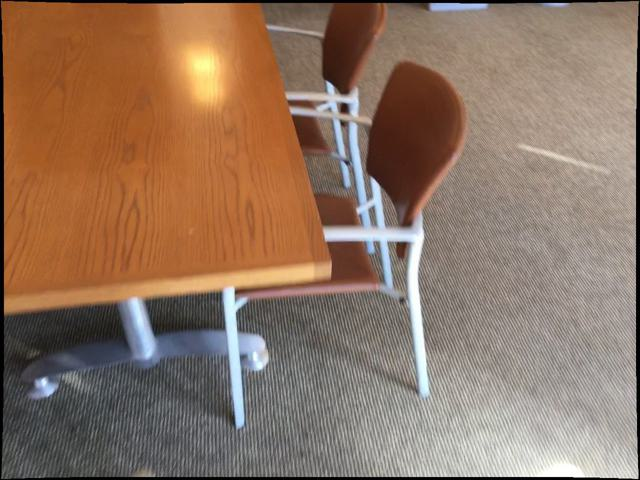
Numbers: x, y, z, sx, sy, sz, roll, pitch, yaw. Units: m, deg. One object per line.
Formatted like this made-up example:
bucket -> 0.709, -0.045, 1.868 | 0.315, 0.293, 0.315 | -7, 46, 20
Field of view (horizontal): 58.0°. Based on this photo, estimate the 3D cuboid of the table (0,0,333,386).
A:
table -> -0.918, -0.341, 1.640 | 1.756, 0.611, 1.362 | -4, 46, -4
